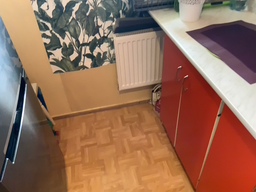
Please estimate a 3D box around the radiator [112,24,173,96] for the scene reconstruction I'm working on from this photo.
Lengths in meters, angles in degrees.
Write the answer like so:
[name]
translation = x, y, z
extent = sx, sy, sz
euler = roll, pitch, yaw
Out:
[radiator]
translation = 0.100, -0.250, 1.590
extent = 0.390, 0.500, 0.140
euler = -6, 42, -3
